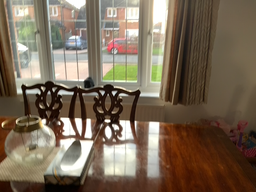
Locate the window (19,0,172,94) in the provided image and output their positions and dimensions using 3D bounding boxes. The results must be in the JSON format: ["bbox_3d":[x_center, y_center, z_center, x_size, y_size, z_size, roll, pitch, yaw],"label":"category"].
[{"bbox_3d":[-0.370,-0.700,2.410,1.660,1.310,0.100,2,16,5],"label":"window"}]

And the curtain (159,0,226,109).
[{"bbox_3d":[0.590,-0.610,2.000,0.510,1.460,0.180,2,16,5],"label":"curtain"}]
